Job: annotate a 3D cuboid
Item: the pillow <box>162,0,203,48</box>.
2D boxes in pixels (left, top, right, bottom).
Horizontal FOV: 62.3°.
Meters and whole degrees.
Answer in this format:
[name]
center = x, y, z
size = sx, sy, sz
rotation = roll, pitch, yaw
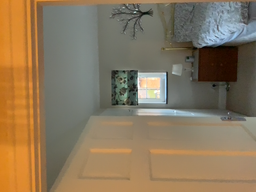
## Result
[pillow]
center = 0.980, -1.290, 3.830
size = 0.720, 0.390, 0.140
rotation = 58, -175, -3
